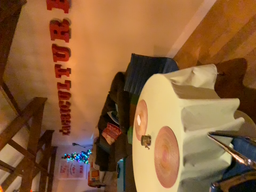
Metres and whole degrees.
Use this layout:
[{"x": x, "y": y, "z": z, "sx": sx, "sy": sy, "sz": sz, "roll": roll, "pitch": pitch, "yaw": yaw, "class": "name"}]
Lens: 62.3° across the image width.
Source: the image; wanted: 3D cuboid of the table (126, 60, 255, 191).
[{"x": 0.520, "y": 0.390, "z": 1.770, "sx": 1.070, "sy": 0.770, "sz": 1.050, "roll": 164, "pitch": 111, "yaw": -75, "class": "table"}]

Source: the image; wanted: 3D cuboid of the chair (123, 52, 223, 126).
[{"x": 0.420, "y": -0.070, "z": 2.270, "sx": 0.500, "sy": 0.810, "sz": 0.530, "roll": -106, "pitch": 25, "yaw": -56, "class": "chair"}]

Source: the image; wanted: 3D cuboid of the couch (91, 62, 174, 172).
[{"x": -0.200, "y": 0.810, "z": 4.560, "sx": 3.530, "sy": 0.760, "sz": 1.230, "roll": 121, "pitch": 151, "yaw": -61, "class": "couch"}]

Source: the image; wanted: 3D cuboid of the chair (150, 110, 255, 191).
[{"x": 0.630, "y": 0.440, "z": 1.220, "sx": 0.550, "sy": 0.810, "sz": 0.460, "roll": -115, "pitch": 33, "yaw": -64, "class": "chair"}]
